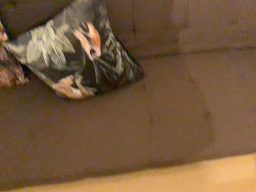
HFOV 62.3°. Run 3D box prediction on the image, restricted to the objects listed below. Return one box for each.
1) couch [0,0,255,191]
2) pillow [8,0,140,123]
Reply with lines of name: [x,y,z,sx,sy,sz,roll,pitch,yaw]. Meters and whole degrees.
couch: [-0.090,-0.060,0.970,1.880,0.840,0.800,-7,58,-7]
pillow: [-0.210,-0.160,0.900,0.360,0.370,0.180,-38,27,-13]
